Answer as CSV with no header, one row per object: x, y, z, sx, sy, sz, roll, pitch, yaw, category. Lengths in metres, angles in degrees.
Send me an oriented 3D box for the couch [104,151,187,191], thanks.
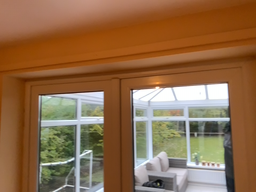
0.440,1.620,3.870,0.870,0.850,1.840,-3,-6,26,couch
